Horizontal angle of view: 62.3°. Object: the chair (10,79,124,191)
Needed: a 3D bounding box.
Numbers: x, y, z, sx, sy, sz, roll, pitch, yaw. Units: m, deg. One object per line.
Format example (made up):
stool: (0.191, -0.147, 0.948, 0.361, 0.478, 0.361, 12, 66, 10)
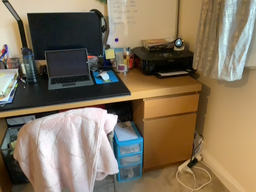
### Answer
chair: (-0.330, 0.360, 1.330, 0.480, 0.750, 0.530, -8, 26, -14)
